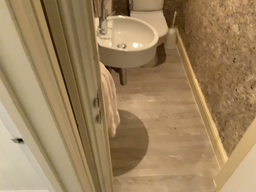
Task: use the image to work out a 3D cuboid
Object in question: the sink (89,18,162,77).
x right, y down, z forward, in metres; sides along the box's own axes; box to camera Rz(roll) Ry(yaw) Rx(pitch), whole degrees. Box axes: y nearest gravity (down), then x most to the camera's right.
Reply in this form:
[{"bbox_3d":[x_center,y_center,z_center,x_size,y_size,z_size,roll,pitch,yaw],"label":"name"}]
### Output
[{"bbox_3d":[-0.020,-0.310,1.300,0.380,0.150,0.410,-1,46,-1],"label":"sink"}]
